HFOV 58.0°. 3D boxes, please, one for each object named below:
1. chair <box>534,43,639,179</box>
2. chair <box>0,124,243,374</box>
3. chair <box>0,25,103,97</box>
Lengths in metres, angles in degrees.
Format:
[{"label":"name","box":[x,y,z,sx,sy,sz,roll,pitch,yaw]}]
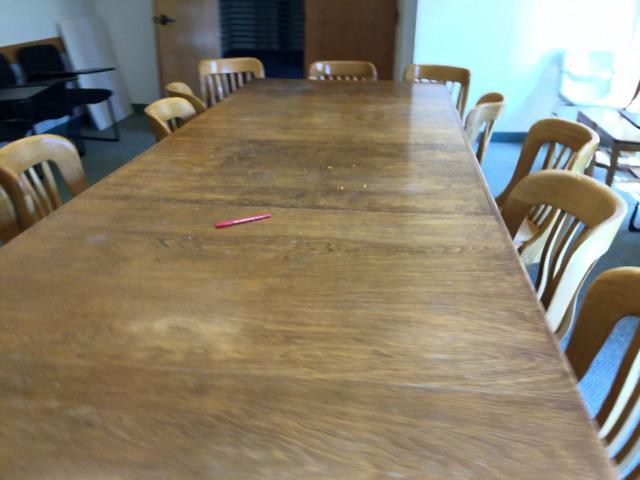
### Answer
[{"label":"chair","box":[1.960,-0.920,4.100,0.610,0.840,0.500,2,26,4]},{"label":"chair","box":[-0.690,0.020,2.050,0.710,0.750,0.430,2,26,4]},{"label":"chair","box":[-2.220,-1.450,4.650,0.650,0.470,0.570,2,26,4]}]
